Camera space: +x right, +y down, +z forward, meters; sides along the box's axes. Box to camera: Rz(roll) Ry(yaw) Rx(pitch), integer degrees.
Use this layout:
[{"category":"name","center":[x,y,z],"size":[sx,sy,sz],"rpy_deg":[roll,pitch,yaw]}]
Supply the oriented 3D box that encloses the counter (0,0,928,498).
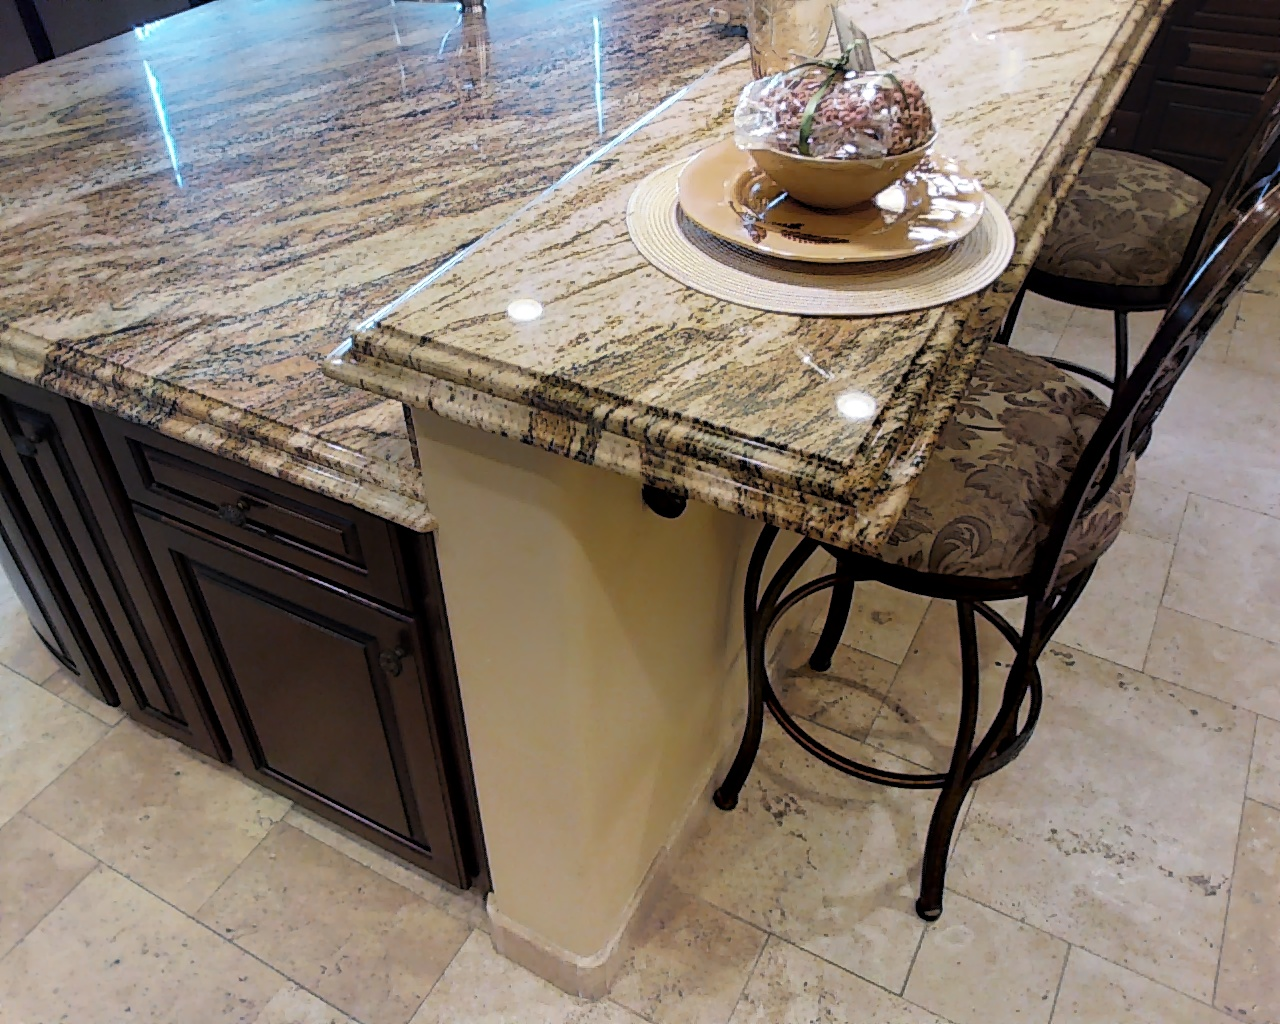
[{"category":"counter","center":[-0.420,-0.810,1.970],"size":[1.390,0.100,1.860],"rpy_deg":[19,45,21]}]

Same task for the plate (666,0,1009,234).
[{"category":"plate","center":[0.190,-0.410,1.030],"size":[0.240,0.140,0.250],"rpy_deg":[19,45,21]}]

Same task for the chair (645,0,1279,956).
[{"category":"chair","center":[0.390,-0.020,1.470],"size":[0.600,1.170,0.500],"rpy_deg":[19,45,21]}]
